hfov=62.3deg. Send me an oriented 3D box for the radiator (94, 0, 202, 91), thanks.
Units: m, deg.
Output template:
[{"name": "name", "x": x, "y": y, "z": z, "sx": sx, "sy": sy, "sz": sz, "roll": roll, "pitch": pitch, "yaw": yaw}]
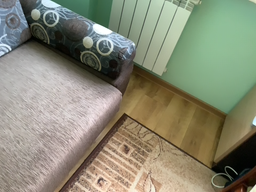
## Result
[{"name": "radiator", "x": 0.070, "y": -0.440, "z": 1.410, "sx": 0.570, "sy": 0.700, "sz": 0.110, "roll": 31, "pitch": 49, "yaw": 11}]
